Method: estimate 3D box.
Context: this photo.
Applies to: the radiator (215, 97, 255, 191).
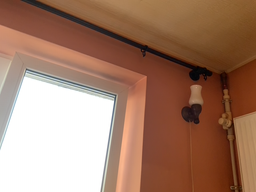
[{"bbox_3d":[0.850,0.240,1.070,0.150,0.550,0.810,18,-28,-25],"label":"radiator"}]
